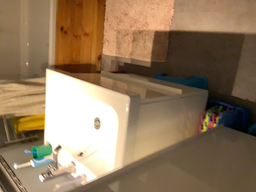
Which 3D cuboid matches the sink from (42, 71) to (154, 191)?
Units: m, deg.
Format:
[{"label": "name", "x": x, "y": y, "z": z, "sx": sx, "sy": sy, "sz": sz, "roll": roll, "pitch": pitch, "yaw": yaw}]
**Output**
[{"label": "sink", "x": -0.200, "y": 0.170, "z": 0.990, "sx": 0.630, "sy": 0.120, "sz": 0.480, "roll": 18, "pitch": 107, "yaw": 42}]
